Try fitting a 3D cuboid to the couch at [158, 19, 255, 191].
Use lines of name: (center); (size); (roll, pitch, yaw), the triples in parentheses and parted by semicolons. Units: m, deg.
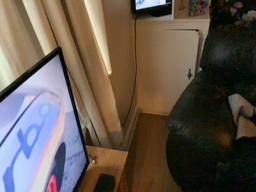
couch: (0.920, 0.180, 1.260); (1.170, 0.890, 0.950); (16, 41, 26)
